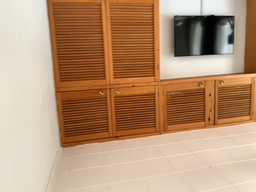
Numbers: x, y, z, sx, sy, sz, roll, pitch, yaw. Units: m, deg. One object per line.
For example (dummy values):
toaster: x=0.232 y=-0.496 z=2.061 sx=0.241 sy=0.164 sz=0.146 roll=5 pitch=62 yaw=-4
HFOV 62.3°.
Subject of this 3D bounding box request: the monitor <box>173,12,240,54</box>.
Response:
monitor: x=1.080 y=-0.860 z=2.900 sx=0.980 sy=0.530 sz=0.050 roll=-5 pitch=-170 yaw=-12
